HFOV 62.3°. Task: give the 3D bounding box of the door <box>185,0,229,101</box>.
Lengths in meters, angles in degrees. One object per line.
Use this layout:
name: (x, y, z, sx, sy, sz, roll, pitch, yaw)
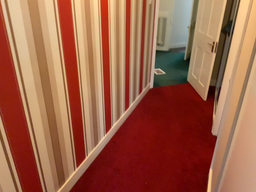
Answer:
door: (1.190, -0.990, 3.290, 0.100, 1.930, 0.940, 0, 26, -2)
